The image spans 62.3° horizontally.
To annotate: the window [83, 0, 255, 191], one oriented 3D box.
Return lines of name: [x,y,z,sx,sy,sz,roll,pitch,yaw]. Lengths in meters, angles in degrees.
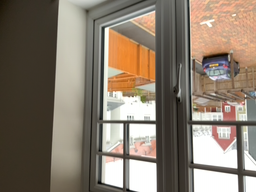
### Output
window: [0.180,0.010,1.020,1.030,1.120,0.070,-4,172,36]
